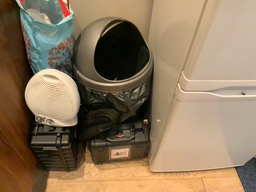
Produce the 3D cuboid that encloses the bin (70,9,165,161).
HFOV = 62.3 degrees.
[{"bbox_3d":[-0.070,-0.020,1.120,0.320,0.670,0.460,-2,51,-6],"label":"bin"}]
